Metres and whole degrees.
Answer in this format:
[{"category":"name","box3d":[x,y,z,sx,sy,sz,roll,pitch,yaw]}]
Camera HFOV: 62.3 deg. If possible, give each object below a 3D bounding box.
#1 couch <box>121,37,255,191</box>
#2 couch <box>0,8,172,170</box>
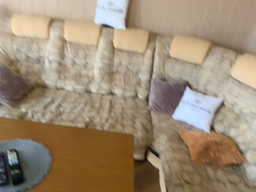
[{"category":"couch","box3d":[0.830,0.030,2.260,1.610,1.020,0.750,-19,39,-42]},{"category":"couch","box3d":[-0.680,-0.160,2.150,1.860,1.030,1.140,8,28,-3]}]
